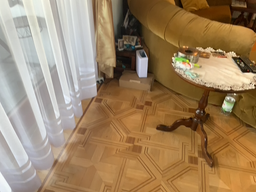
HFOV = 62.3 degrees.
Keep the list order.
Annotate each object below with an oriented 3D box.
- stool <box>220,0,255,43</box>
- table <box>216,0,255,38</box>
[{"bbox_3d":[1.770,-1.190,3.350,0.480,0.480,0.420,13,40,14],"label":"stool"},{"bbox_3d":[1.870,-1.430,3.470,0.560,0.710,0.540,8,39,9],"label":"table"}]
